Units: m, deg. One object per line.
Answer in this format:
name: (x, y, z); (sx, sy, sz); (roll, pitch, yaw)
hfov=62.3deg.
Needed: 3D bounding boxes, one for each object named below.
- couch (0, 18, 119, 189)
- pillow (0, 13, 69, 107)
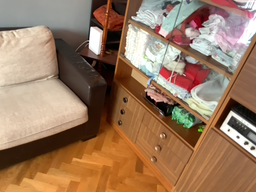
couch: (-1.080, 0.020, 1.450); (1.640, 0.760, 1.030); (-14, 43, -36)
pillow: (-0.880, -0.280, 1.660); (0.620, 0.510, 0.230); (-31, 25, -25)
